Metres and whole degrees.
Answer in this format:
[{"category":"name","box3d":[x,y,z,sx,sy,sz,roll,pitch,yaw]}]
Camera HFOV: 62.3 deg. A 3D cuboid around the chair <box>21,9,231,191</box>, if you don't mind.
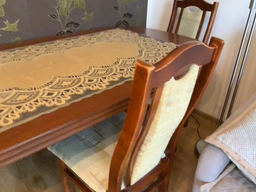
[{"category":"chair","box3d":[-0.040,0.190,0.920,0.410,0.960,0.540,-25,40,-38]}]
